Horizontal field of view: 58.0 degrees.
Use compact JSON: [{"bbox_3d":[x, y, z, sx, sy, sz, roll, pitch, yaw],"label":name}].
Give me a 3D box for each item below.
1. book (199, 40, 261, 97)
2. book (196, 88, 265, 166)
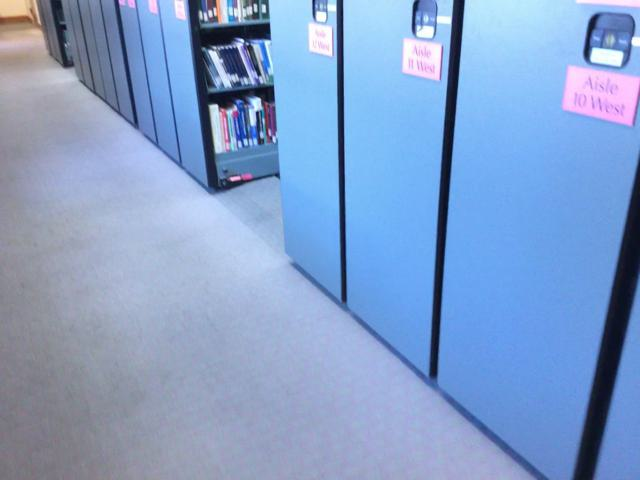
[{"bbox_3d":[-0.520,-1.000,3.350,0.280,0.290,0.200,-13,24,-26],"label":"book"},{"bbox_3d":[-0.540,-0.690,3.490,0.320,0.400,0.230,-13,24,-26],"label":"book"}]
